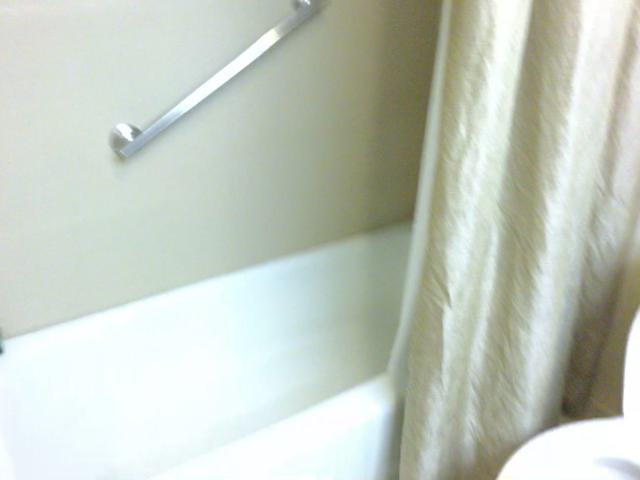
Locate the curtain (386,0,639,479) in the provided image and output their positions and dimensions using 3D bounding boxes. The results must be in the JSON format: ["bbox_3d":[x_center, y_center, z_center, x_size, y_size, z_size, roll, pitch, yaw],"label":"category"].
[{"bbox_3d":[0.310,-0.080,1.000,0.300,1.660,0.180,-16,31,-25],"label":"curtain"}]

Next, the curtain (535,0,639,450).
[{"bbox_3d":[0.690,-0.290,1.230,0.140,1.870,0.110,-16,31,-25],"label":"curtain"}]

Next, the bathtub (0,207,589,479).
[{"bbox_3d":[-0.080,0.380,1.620,1.440,0.410,0.730,-16,31,-25],"label":"bathtub"}]

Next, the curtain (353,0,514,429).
[{"bbox_3d":[0.210,-0.110,1.250,0.140,1.080,0.290,-16,31,-25],"label":"curtain"}]
